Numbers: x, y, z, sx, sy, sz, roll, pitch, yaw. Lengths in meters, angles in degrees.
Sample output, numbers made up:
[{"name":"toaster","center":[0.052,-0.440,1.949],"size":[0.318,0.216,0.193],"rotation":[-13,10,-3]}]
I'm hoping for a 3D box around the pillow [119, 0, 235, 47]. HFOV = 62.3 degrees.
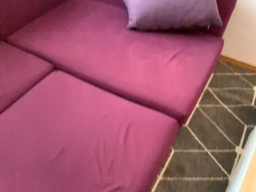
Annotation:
[{"name":"pillow","center":[0.290,-0.700,1.520],"size":[0.650,0.320,0.670],"rotation":[3,48,2]}]
